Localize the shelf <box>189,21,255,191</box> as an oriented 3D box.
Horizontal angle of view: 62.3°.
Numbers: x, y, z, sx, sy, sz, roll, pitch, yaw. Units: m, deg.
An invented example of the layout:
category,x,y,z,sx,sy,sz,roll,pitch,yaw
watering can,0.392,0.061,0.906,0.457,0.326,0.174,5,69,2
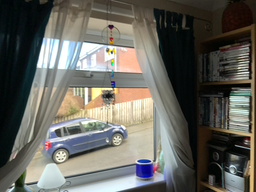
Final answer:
category,x,y,z,sx,sy,sz,roll,pitch,yaw
shelf,0.670,0.630,1.360,0.330,2.030,0.430,0,1,-24
